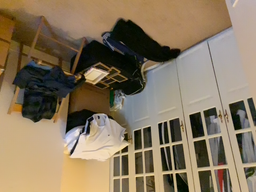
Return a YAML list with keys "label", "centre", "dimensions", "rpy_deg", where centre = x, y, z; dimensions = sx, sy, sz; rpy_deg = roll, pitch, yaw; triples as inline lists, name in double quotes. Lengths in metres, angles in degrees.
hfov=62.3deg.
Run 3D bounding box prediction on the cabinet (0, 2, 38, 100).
- label: "cabinet"
  centre: [-1.160, -0.370, 1.760]
  dimensions: [0.490, 0.550, 0.610]
  rpy_deg: [20, 149, -40]
